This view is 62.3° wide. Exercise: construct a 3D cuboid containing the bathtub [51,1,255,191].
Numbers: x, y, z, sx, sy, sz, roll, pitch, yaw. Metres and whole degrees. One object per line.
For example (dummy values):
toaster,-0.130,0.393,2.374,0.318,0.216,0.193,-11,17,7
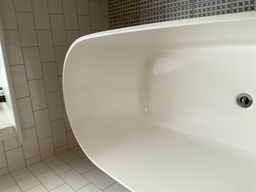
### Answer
bathtub,0.370,0.090,0.860,1.690,0.550,0.780,12,111,45
